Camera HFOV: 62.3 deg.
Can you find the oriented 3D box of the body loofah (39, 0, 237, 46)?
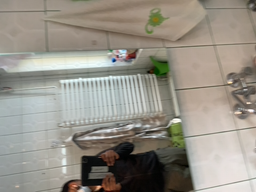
[{"bbox_3d":[0.050,-0.390,0.930,0.150,0.800,0.270,124,139,-69],"label":"body loofah"}]
